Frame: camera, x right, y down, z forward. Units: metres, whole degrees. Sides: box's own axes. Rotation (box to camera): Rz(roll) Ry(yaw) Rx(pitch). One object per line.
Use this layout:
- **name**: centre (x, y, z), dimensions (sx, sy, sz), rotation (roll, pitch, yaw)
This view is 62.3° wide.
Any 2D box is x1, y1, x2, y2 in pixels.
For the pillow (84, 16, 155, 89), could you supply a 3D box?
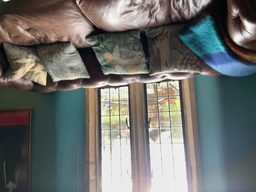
- **pillow**: centre (-0.070, -0.360, 1.790), dimensions (0.440, 0.400, 0.160), rotation (-55, 162, 3)

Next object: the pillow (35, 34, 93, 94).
- **pillow**: centre (-0.590, -0.290, 1.940), dimensions (0.420, 0.370, 0.120), rotation (-65, 162, 0)

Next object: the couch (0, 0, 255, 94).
- **couch**: centre (-0.210, -0.540, 1.700), dimensions (0.950, 2.250, 0.740), rotation (21, 66, -69)
